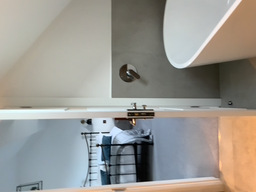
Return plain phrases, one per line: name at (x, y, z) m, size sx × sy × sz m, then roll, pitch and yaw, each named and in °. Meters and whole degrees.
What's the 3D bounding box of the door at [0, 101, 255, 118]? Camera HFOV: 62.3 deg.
door at (-0.060, 0.100, 1.560) m, size 0.940 × 1.900 × 0.070 m, roll 160°, pitch 110°, yaw -77°
